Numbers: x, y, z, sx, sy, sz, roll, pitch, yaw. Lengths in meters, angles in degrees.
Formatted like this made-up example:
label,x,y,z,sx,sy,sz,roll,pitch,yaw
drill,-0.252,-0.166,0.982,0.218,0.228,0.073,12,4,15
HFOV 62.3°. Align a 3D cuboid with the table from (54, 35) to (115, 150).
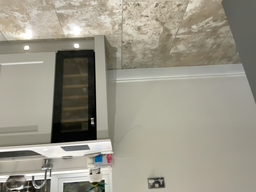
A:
label,x,y,z,sx,sy,sz,roll,pitch,yaw
table,-0.340,0.000,1.870,0.380,0.820,0.590,-4,157,-1
